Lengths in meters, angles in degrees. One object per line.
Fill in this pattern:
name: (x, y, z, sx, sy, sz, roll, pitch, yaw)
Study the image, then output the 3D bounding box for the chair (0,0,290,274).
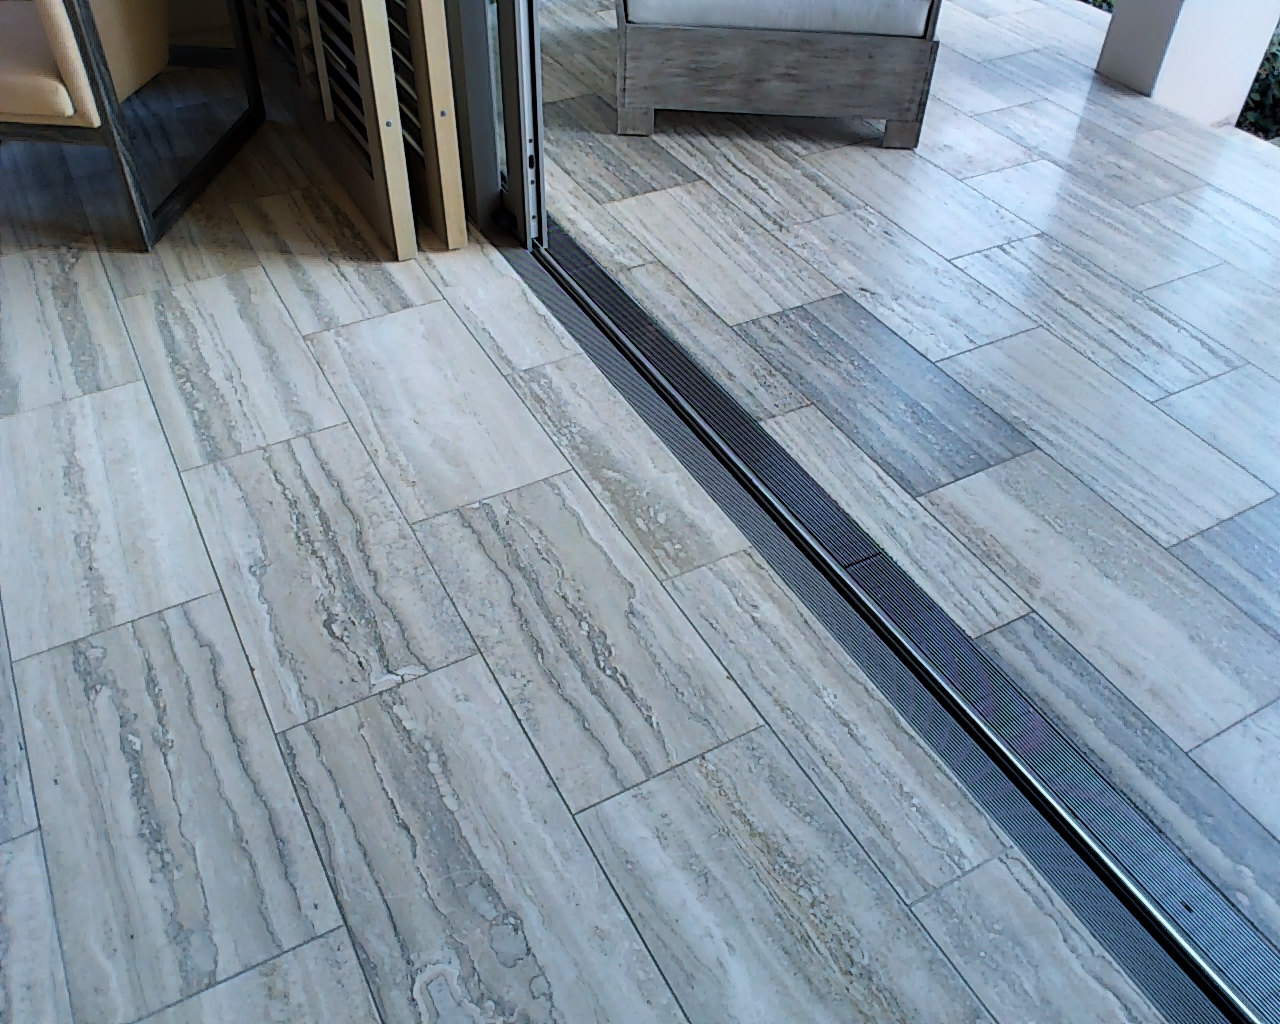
chair: (-1.360, -1.060, 2.440, 0.730, 0.640, 0.800, 6, 44, 5)
